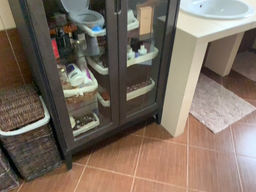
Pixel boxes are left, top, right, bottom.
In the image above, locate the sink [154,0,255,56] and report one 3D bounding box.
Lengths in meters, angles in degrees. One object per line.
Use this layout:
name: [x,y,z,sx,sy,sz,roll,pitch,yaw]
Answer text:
sink: [0.590,-0.570,1.570,0.570,0.200,0.520,-22,45,-25]
